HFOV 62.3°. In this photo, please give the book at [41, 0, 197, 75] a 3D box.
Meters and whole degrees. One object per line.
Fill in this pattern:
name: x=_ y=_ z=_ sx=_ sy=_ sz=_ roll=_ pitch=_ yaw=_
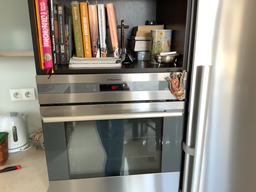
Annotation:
book: x=-0.060 y=-0.340 z=1.080 sx=0.580 sy=0.350 sz=0.570 roll=-2 pitch=16 yaw=-8
